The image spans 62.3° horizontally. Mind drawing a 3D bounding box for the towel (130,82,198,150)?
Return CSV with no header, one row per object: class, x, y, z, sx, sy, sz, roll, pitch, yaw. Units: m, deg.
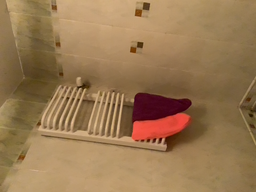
towel,0.220,0.110,1.410,0.450,0.380,0.120,-84,2,-49
